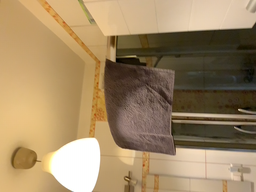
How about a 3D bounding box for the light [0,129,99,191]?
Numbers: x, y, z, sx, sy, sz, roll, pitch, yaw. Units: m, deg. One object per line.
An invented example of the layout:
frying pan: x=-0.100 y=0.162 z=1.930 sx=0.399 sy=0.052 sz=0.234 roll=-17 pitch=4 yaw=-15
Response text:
light: x=-0.410 y=0.450 z=1.180 sx=0.420 sy=0.410 sz=0.340 roll=-2 pitch=15 yaw=1
